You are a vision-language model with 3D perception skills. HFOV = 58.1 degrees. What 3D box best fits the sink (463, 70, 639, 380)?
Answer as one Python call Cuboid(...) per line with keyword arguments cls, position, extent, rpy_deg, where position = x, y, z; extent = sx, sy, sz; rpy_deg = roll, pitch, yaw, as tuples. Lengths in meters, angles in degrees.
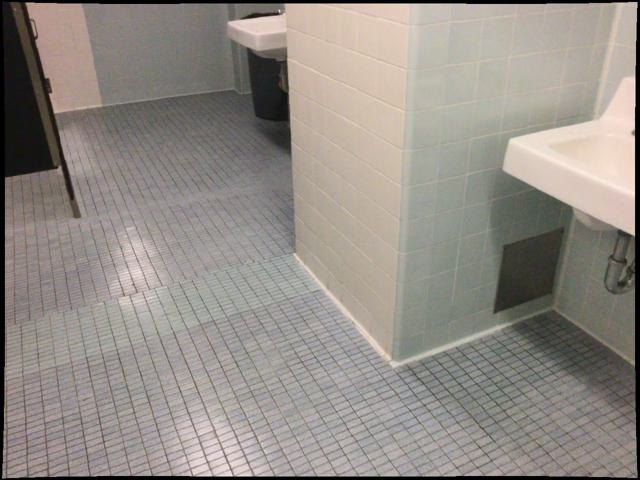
Cuboid(cls="sink", position=(0.808, -0.090, 1.620), extent=(0.469, 0.581, 0.600), rpy_deg=(-17, 33, -23))
